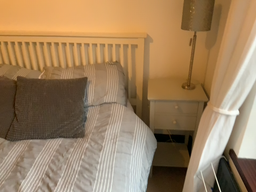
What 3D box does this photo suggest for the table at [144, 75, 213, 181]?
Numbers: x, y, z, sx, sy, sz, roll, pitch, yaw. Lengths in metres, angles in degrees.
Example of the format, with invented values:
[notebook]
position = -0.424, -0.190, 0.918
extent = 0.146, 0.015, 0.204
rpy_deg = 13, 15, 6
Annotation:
[table]
position = 0.370, 0.260, 1.790
extent = 0.430, 0.760, 0.430
rpy_deg = 2, 27, 5
